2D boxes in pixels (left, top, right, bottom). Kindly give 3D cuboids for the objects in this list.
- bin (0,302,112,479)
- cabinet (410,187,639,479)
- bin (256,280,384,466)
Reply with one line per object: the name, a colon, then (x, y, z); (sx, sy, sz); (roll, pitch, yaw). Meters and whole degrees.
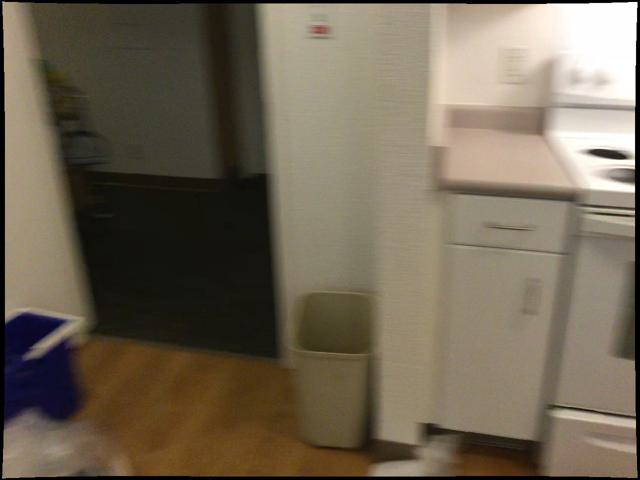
bin: (-1.007, 0.501, 1.940); (0.319, 0.351, 0.510); (4, 23, 11)
cabinet: (0.559, 0.301, 1.630); (0.549, 0.862, 0.150); (4, 23, 11)
bin: (0.020, 0.431, 1.960); (0.339, 0.421, 0.410); (4, 23, 11)
